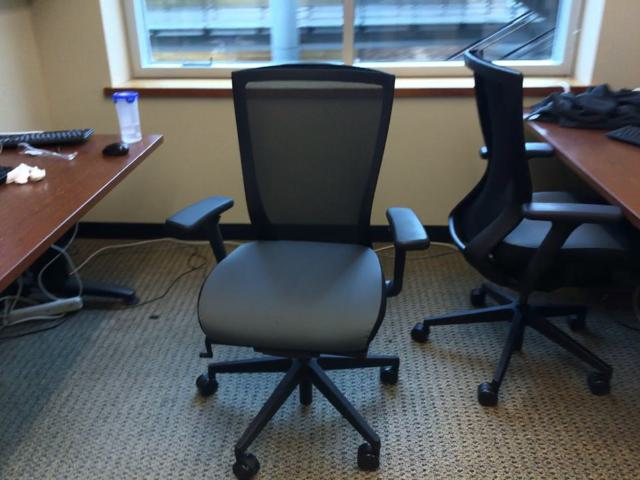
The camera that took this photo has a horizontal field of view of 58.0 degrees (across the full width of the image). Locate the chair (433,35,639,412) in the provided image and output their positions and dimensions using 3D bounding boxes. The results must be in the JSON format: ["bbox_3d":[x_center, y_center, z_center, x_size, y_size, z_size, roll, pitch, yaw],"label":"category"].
[{"bbox_3d":[0.710,-0.080,1.910,0.630,1.050,0.660,-1,23,8],"label":"chair"}]

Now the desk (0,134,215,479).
[{"bbox_3d":[-0.960,0.220,1.850,0.730,0.760,1.490,-1,23,8],"label":"desk"}]

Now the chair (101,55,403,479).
[{"bbox_3d":[-0.090,0.070,1.700,0.640,1.080,0.580,-1,23,8],"label":"chair"}]
